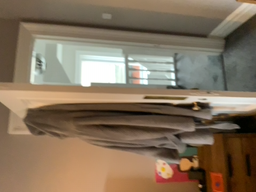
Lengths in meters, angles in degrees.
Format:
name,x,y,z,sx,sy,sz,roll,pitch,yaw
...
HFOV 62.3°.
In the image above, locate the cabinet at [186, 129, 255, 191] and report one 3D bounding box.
name,x,y,z,sx,sy,sz,roll,pitch,yaw
cabinet,0.880,0.580,1.920,0.480,0.460,0.510,132,138,-71
